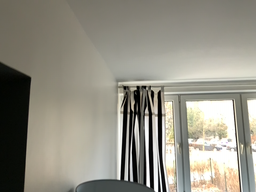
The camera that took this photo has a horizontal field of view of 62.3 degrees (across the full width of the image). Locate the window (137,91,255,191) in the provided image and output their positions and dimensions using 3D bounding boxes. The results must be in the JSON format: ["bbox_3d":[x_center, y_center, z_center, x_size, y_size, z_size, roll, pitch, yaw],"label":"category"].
[{"bbox_3d":[1.230,0.710,2.850,2.190,1.510,0.230,-2,-9,10],"label":"window"}]
